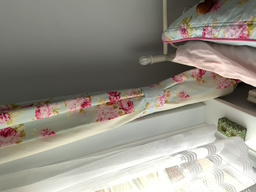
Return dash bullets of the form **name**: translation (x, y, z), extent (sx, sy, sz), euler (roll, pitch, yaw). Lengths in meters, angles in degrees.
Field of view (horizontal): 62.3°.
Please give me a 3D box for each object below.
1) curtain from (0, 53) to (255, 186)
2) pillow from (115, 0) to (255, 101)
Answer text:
- **curtain**: translation (-0.170, 0.080, 0.920), extent (0.260, 2.100, 0.260), euler (-144, 46, -60)
- **pillow**: translation (0.450, -0.250, 0.750), extent (1.000, 0.440, 0.380), euler (18, 121, 45)
